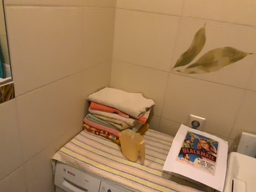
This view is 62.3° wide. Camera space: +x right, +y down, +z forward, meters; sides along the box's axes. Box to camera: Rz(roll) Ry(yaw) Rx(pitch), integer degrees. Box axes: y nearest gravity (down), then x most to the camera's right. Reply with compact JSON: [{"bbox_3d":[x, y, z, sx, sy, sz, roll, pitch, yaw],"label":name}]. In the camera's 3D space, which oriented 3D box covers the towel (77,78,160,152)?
[{"bbox_3d":[-0.040,0.070,1.040,0.280,0.180,0.300,17,26,22],"label":"towel"}]
